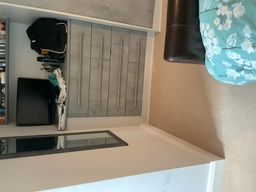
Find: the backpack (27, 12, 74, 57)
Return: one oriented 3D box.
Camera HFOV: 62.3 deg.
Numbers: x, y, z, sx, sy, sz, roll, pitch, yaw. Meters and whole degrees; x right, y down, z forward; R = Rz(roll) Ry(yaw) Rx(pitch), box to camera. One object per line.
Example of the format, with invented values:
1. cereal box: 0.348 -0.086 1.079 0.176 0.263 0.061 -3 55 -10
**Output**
1. backpack: -0.750 -0.560 2.020 0.380 0.370 0.310 14 102 63
